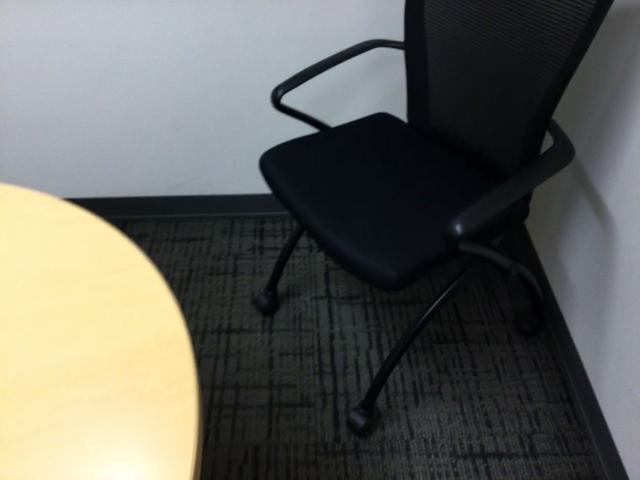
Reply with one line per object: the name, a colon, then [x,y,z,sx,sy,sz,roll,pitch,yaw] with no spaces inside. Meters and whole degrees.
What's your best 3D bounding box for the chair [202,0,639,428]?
chair: [0.180,-0.180,1.230,0.620,0.860,0.540,-20,45,-20]
